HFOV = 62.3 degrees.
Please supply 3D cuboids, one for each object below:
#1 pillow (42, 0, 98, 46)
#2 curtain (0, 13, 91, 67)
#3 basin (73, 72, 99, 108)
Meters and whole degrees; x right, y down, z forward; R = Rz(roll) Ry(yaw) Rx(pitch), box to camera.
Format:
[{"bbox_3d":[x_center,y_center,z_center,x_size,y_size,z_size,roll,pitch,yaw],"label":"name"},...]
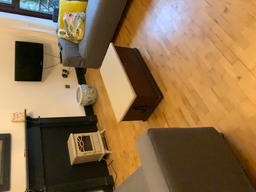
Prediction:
[{"bbox_3d":[-0.820,-1.110,3.050,0.540,0.530,0.150,-41,21,5],"label":"pillow"},{"bbox_3d":[-1.950,-0.960,3.500,0.520,2.530,0.560,-61,39,40],"label":"curtain"},{"bbox_3d":[-0.760,-0.100,3.770,0.370,0.270,0.520,-61,40,40],"label":"basin"}]
